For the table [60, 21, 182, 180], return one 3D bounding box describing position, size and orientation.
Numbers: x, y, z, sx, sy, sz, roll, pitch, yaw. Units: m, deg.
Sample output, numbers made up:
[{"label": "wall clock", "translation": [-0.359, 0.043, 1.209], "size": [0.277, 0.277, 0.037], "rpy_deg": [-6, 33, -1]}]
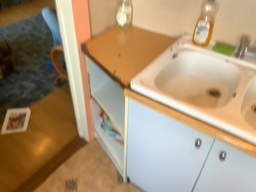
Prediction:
[{"label": "table", "translation": [-0.030, 0.030, 1.470], "size": [0.430, 0.840, 0.570], "rpy_deg": [26, 45, 25]}]
